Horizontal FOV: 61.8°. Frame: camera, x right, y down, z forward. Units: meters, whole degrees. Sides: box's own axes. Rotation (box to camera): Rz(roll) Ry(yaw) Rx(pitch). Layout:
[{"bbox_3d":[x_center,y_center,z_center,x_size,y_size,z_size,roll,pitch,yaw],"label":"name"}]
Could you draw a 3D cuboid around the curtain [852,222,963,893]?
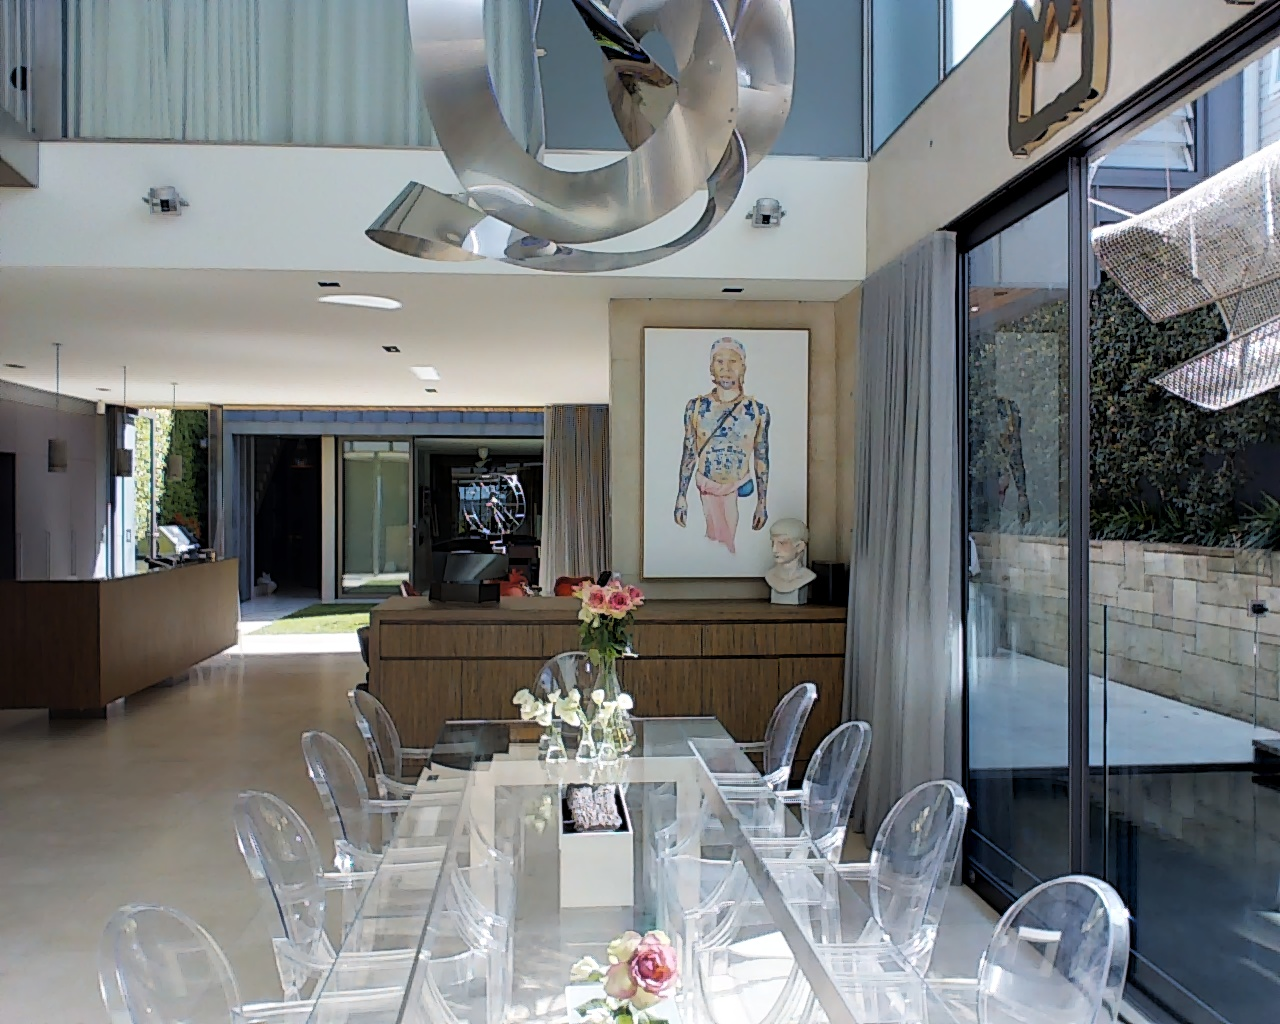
[{"bbox_3d":[1.140,0.180,4.640,0.190,2.651,0.820,0,0,-7],"label":"curtain"}]
